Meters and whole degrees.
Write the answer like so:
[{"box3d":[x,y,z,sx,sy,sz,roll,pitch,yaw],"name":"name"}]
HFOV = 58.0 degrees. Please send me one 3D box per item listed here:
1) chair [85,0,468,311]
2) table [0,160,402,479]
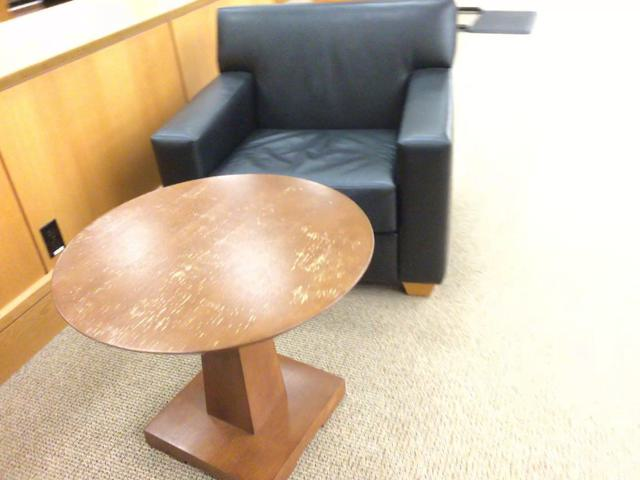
[{"box3d":[-0.020,-0.400,2.010,0.970,0.820,0.880,4,35,15],"name":"chair"},{"box3d":[-0.240,0.250,1.410,0.690,0.580,0.660,11,38,24],"name":"table"}]
